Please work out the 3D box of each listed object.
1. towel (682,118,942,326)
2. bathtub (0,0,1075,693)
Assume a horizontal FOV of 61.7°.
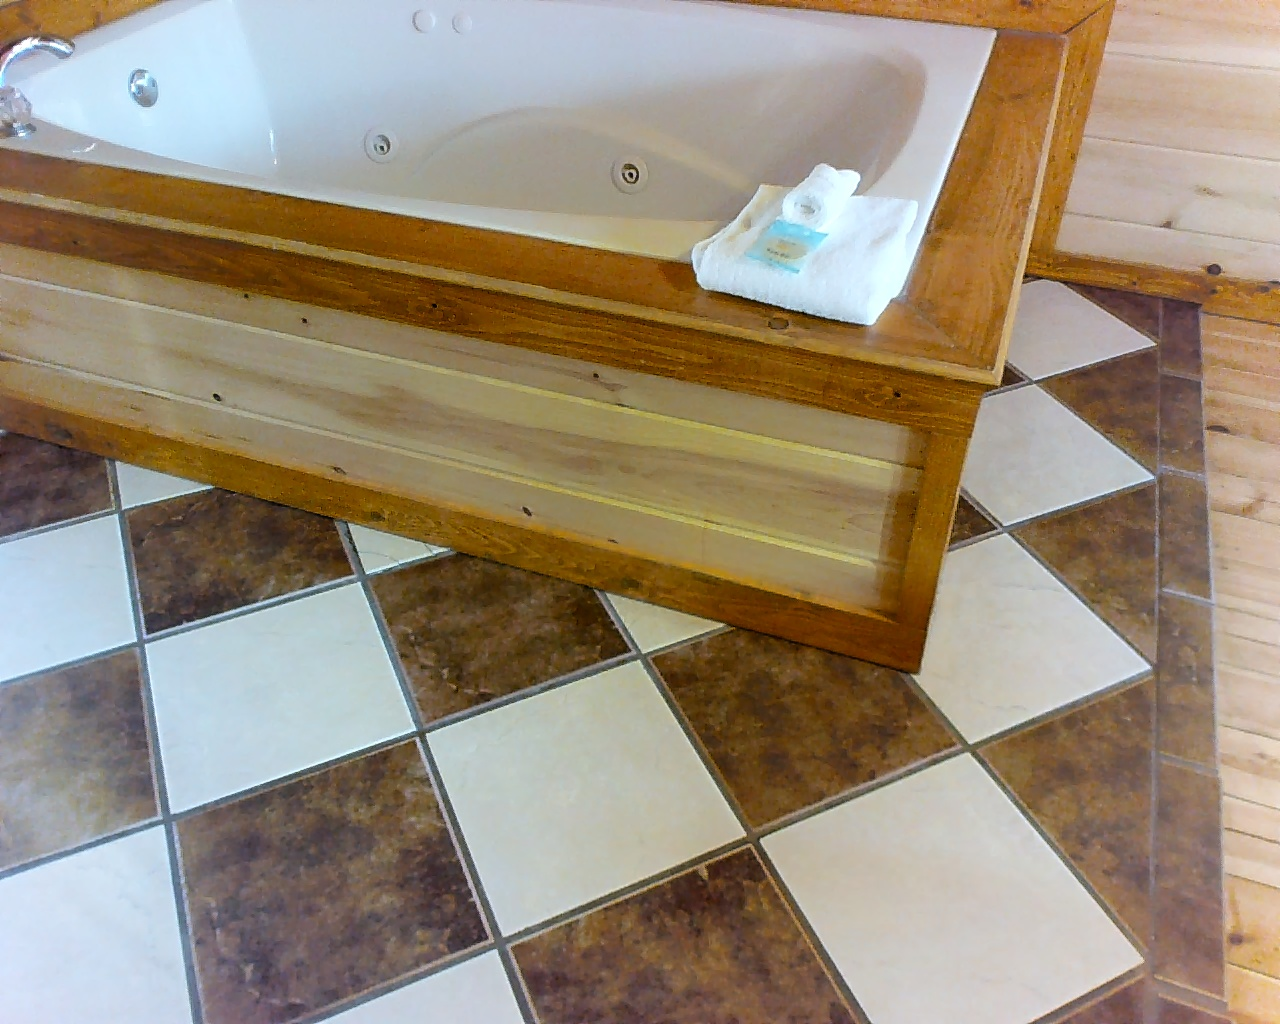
[{"bbox_3d":[0.230,-0.390,1.400,0.260,0.110,0.320,13,41,15],"label":"towel"},{"bbox_3d":[-0.290,-0.590,2.120,2.000,0.580,1.370,13,41,15],"label":"bathtub"}]
